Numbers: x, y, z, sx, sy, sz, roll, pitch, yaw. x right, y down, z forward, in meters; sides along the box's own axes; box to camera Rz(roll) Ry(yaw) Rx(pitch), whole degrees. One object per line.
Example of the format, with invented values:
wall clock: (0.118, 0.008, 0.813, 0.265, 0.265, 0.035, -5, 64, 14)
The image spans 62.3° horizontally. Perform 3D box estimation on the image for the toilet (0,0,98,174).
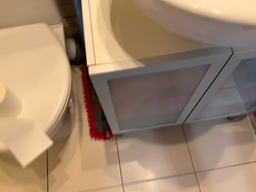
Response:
toilet: (-0.400, -0.140, 0.790, 0.390, 0.740, 0.700, -9, 66, -3)
